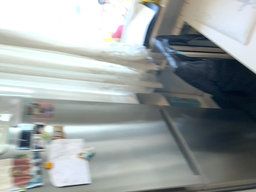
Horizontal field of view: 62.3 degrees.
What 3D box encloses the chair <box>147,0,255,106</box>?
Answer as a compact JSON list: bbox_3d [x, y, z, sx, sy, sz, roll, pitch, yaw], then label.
[{"bbox_3d":[0.690,-0.290,1.300,0.470,0.920,0.520,-120,41,-54],"label":"chair"}]
